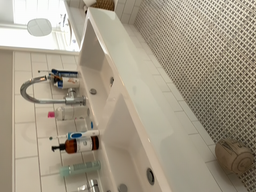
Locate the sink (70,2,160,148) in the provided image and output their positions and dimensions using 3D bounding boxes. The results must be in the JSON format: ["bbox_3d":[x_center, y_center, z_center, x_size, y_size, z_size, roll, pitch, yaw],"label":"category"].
[{"bbox_3d":[-0.130,-0.110,1.130,0.550,0.190,0.510,65,145,37],"label":"sink"}]

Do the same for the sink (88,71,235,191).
[{"bbox_3d":[0.050,0.280,0.810,0.540,0.190,0.510,65,145,37],"label":"sink"}]
